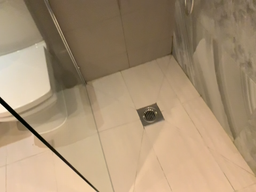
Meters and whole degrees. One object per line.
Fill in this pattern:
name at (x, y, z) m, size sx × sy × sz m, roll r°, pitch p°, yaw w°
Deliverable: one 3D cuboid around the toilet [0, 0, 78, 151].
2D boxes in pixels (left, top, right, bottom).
toilet at (-0.660, -0.140, 1.270) m, size 0.400 × 0.760 × 0.590 m, roll -18°, pitch 55°, yaw -5°
